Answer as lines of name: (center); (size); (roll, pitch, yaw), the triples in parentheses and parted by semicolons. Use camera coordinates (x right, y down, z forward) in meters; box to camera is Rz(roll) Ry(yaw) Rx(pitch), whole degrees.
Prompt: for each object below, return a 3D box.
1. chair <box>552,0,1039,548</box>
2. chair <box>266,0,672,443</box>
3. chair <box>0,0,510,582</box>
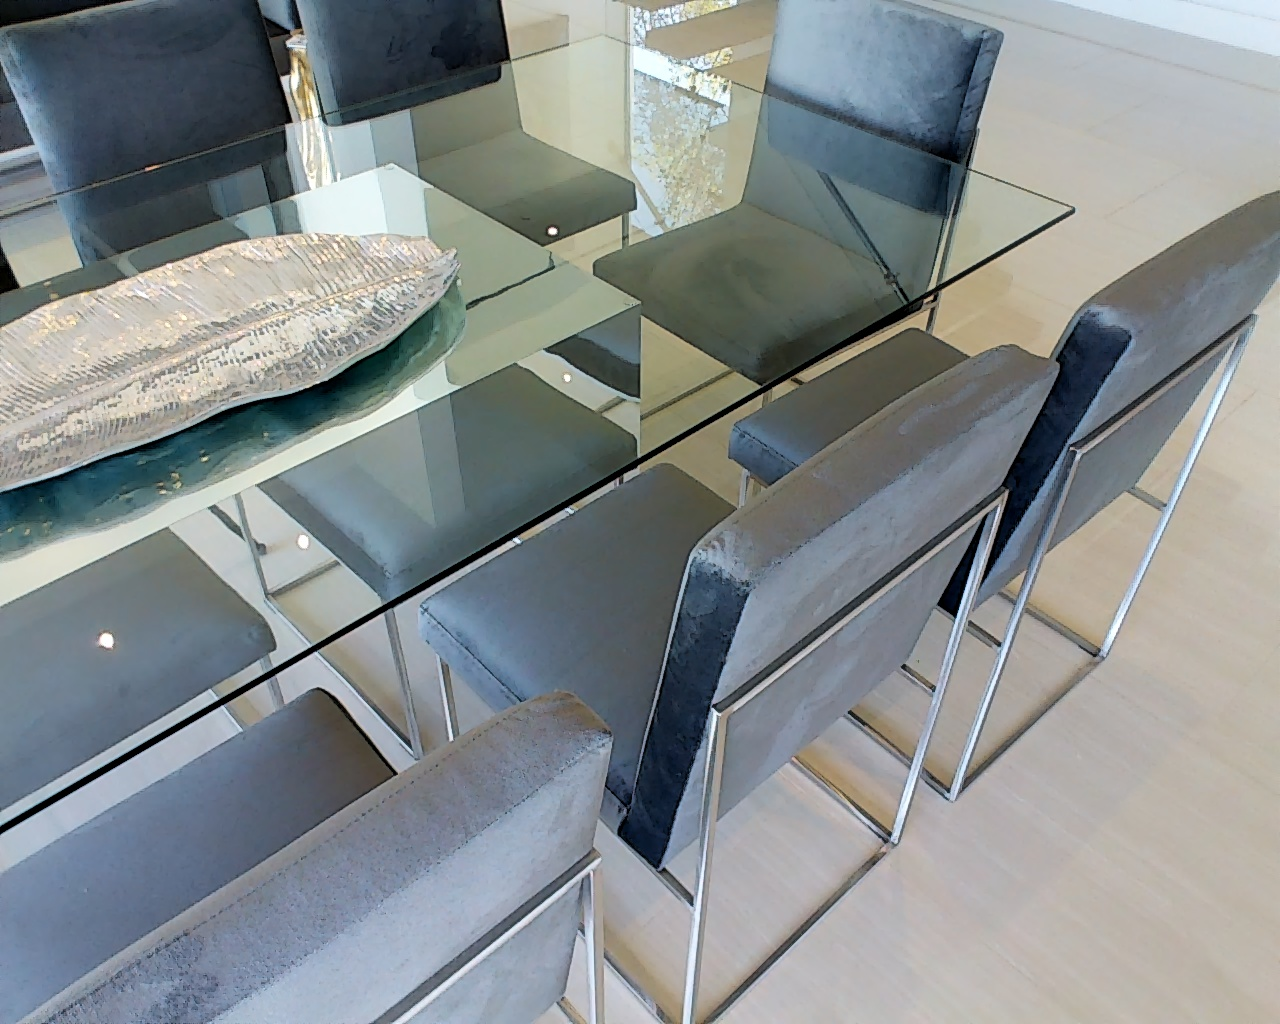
chair: (0.280, -0.550, 2.210); (0.670, 0.900, 0.560); (-31, 50, -31)
chair: (-0.380, -0.820, 2.550); (0.560, 0.960, 0.710); (-31, 50, -30)
chair: (-0.760, -0.530, 2.200); (0.620, 0.980, 0.680); (-31, 50, -30)
